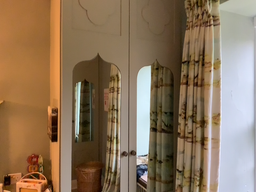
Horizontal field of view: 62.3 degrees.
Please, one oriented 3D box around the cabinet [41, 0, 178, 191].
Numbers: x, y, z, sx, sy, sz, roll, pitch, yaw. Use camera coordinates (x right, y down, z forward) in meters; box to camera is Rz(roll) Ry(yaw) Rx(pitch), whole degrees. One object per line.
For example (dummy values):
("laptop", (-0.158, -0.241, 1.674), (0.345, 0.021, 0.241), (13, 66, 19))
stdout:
("cabinet", (-0.190, 0.250, 2.020), (1.120, 2.630, 0.680), (0, 1, -27))
